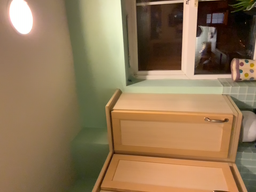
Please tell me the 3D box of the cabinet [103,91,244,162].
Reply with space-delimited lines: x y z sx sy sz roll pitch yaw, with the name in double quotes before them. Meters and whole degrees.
"cabinet" 0.280 0.180 1.450 0.340 0.810 0.330 -62 -29 -67
